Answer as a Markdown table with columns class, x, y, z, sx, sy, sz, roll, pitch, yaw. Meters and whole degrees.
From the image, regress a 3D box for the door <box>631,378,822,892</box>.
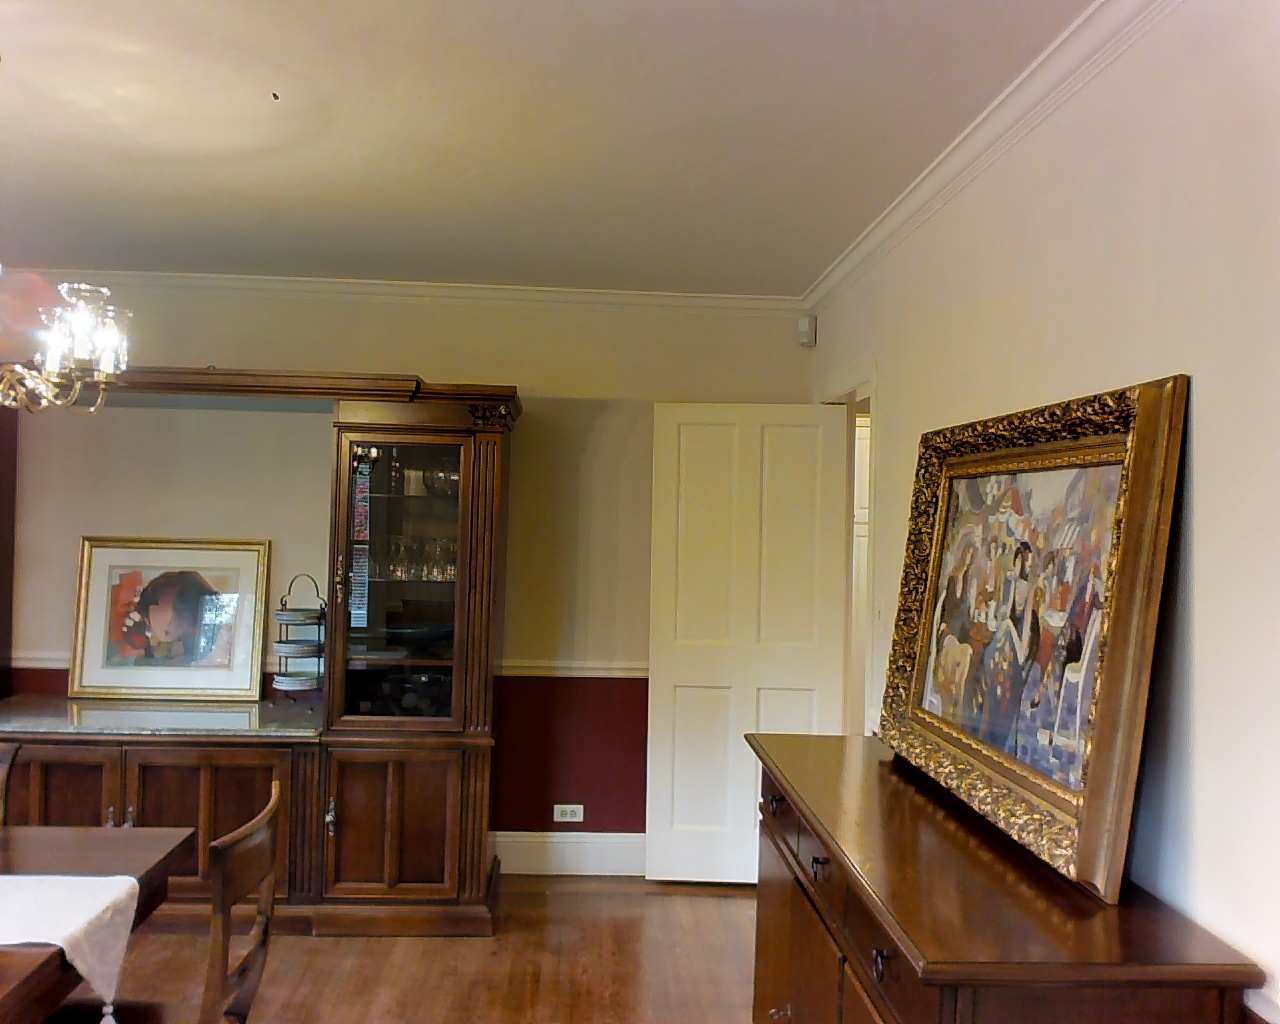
| class | x | y | z | sx | sy | sz | roll | pitch | yaw |
| --- | --- | --- | --- | --- | --- | --- | --- | --- | --- |
| door | 0.360 | 0.510 | 4.510 | 0.750 | 2.130 | 0.040 | 1 | 0 | 2 |

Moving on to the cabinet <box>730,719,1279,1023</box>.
| class | x | y | z | sx | sy | sz | roll | pitch | yaw |
| --- | --- | --- | --- | --- | --- | --- | --- | --- | --- |
| cabinet | 0.590 | 1.090 | 2.310 | 0.560 | 0.970 | 1.610 | 1 | 0 | -3 |
